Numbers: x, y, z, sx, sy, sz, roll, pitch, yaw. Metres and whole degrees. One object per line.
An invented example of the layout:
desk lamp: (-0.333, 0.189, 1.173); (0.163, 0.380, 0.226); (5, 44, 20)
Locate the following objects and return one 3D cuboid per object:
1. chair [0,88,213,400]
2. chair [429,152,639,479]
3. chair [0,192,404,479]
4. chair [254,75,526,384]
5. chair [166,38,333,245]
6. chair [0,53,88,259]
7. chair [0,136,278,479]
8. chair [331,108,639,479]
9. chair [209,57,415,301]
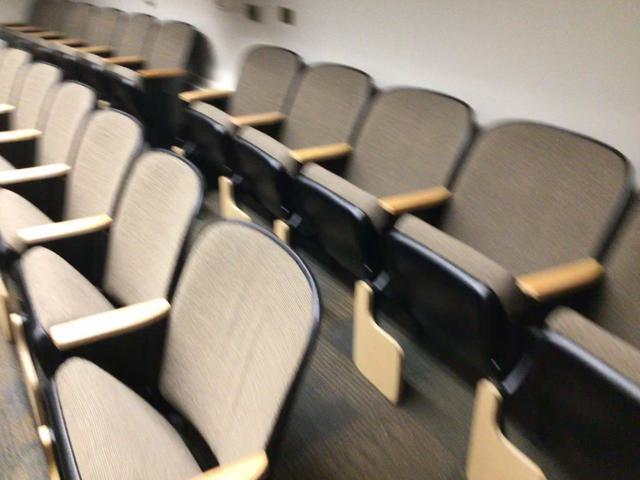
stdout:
chair: (-0.870, -0.030, 2.030); (0.600, 0.810, 0.660); (-3, 26, -41)
chair: (0.710, 0.310, 1.270); (0.510, 0.830, 0.600); (-9, 30, -30)
chair: (-0.310, 0.410, 1.190); (0.540, 0.800, 0.620); (-10, 30, -34)
chair: (0.190, -0.090, 2.040); (0.530, 0.830, 0.640); (-13, 32, -36)
chair: (-0.360, -0.490, 2.730); (0.540, 0.790, 0.530); (-13, 32, -36)
chair: (-1.400, -0.390, 2.610); (0.500, 0.800, 0.450); (-13, 32, -36)
chair: (-0.570, 0.210, 1.590); (0.530, 0.830, 0.590); (-5, 27, -40)
chair: (0.470, 0.110, 1.670); (0.540, 0.820, 0.580); (-13, 32, -36)
chair: (-0.070, -0.290, 2.410); (0.550, 0.810, 0.560); (-13, 32, -36)
